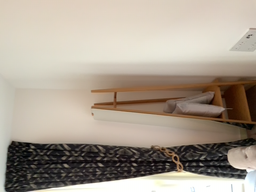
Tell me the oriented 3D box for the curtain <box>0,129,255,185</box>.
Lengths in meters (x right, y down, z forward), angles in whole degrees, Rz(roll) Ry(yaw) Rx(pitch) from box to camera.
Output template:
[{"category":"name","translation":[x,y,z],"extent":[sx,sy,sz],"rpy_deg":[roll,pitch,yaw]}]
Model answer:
[{"category":"curtain","translation":[0.120,0.590,2.050],"extent":[0.240,2.490,0.460],"rpy_deg":[108,163,-71]}]
